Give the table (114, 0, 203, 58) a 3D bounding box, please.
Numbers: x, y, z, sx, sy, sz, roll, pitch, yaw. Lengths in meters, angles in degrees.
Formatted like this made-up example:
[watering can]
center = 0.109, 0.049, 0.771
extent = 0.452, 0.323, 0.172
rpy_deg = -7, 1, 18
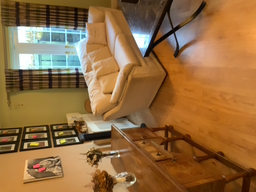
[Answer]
[table]
center = 0.280, -1.170, 2.670
extent = 0.720, 0.460, 1.230
rpy_deg = 114, 145, -46
